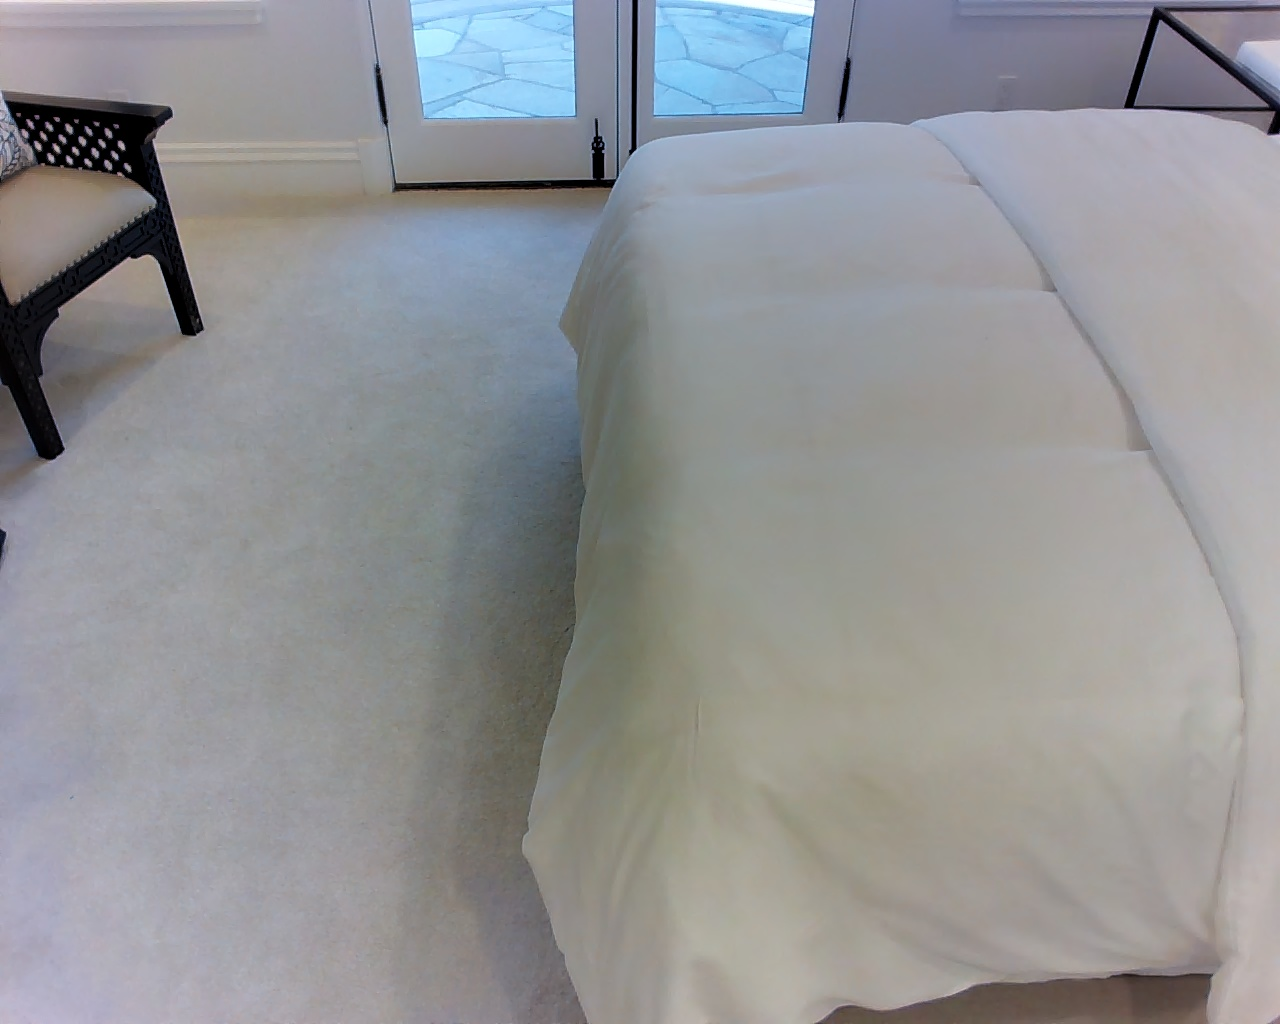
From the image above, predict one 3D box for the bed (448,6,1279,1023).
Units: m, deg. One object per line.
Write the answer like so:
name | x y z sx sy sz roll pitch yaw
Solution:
bed | 0.970 -0.090 1.900 2.280 0.910 2.010 0 42 -1
